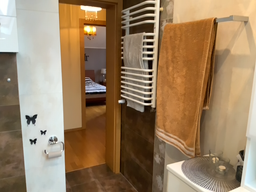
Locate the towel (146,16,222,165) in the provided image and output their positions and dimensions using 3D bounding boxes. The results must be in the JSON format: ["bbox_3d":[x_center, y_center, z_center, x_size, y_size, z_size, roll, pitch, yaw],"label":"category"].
[{"bbox_3d":[0.360,-0.060,1.570,0.150,0.920,0.560,-4,13,-26],"label":"towel"}]

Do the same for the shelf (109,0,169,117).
[{"bbox_3d":[0.060,-0.370,2.120,0.250,0.990,0.690,-4,13,-27],"label":"shelf"}]
